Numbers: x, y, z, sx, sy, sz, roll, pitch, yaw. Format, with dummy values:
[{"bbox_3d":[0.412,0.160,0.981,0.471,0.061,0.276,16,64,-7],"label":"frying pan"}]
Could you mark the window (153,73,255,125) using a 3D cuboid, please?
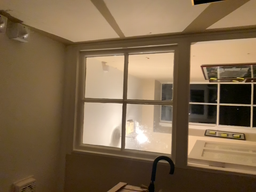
[{"bbox_3d":[1.340,0.030,3.310,0.050,1.940,0.750,2,-91,-68],"label":"window"}]
